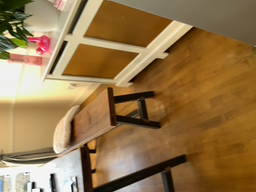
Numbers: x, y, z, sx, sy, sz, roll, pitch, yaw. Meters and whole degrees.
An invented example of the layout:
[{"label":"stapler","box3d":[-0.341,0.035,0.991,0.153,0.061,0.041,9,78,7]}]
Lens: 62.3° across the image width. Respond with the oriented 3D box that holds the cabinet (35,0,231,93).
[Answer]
[{"label":"cabinet","box3d":[-0.140,-0.460,1.600,1.390,0.820,0.370,-34,60,52]}]
